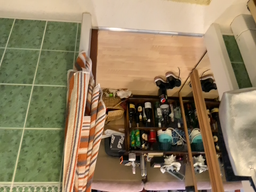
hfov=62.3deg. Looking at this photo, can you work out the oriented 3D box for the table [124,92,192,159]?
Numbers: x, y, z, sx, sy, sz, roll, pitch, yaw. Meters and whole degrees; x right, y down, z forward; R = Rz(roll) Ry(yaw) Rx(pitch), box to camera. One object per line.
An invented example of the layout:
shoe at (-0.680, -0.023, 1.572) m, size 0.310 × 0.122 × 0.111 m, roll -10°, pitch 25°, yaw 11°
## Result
table at (0.310, 0.350, 2.510) m, size 0.690 × 0.700 × 0.300 m, roll 2°, pitch 152°, yaw -7°
